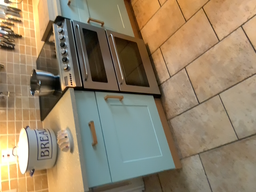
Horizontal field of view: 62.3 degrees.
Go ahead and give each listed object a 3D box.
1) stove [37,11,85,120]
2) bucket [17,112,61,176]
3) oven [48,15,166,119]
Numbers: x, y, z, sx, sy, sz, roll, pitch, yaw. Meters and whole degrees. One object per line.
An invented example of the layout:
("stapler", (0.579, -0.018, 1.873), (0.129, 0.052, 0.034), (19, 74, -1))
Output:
("stove", (-0.570, -0.210, 1.690), (0.630, 0.100, 0.610), (-38, 58, 45))
("bucket", (-0.630, 0.330, 1.480), (0.280, 0.200, 0.360), (-37, 59, 45))
("oven", (-0.220, -0.190, 1.960), (0.630, 0.780, 0.610), (-38, 58, 45))
